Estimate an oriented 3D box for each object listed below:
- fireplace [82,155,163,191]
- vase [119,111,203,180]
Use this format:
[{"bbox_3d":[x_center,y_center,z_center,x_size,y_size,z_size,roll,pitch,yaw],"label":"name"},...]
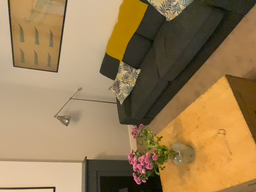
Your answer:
[{"bbox_3d":[-0.040,1.340,2.640,0.210,1.020,1.160,122,147,-48],"label":"fireplace"},{"bbox_3d":[0.230,0.420,1.720,0.440,0.450,0.390,124,146,-50],"label":"vase"}]
